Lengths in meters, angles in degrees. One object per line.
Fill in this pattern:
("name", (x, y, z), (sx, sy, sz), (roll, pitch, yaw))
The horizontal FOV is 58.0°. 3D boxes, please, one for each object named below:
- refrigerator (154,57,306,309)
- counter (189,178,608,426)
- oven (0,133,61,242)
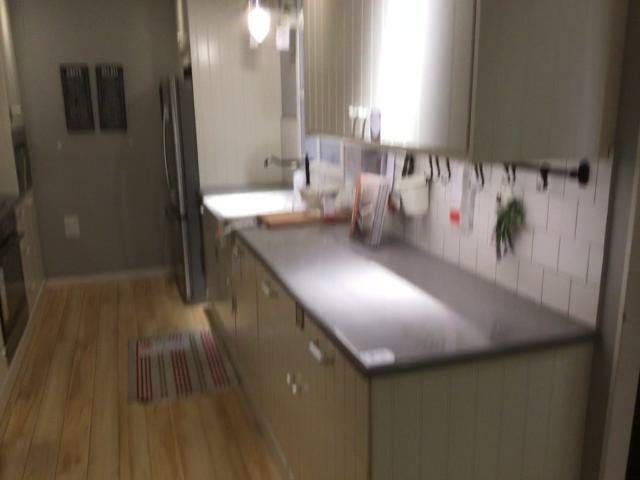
("refrigerator", (-0.690, -0.460, 4.410), (0.860, 1.690, 0.750), (-8, 15, -15))
("counter", (-0.100, -0.030, 2.700), (0.760, 0.090, 2.990), (-8, 15, -15))
("oven", (-2.250, -0.390, 4.140), (0.550, 0.670, 0.670), (-8, 15, -16))
